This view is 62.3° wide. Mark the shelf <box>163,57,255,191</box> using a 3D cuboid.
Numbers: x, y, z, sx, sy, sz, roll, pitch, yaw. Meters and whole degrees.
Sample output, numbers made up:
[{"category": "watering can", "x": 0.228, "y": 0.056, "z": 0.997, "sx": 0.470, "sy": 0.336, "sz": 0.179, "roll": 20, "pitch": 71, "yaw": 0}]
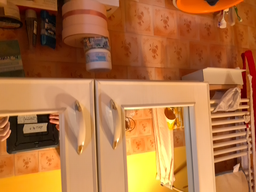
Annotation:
[{"category": "shelf", "x": 0.460, "y": 0.260, "z": 1.070, "sx": 0.570, "sy": 0.850, "sz": 0.130, "roll": -1, "pitch": 178, "yaw": -30}]
